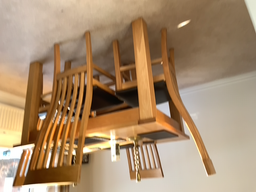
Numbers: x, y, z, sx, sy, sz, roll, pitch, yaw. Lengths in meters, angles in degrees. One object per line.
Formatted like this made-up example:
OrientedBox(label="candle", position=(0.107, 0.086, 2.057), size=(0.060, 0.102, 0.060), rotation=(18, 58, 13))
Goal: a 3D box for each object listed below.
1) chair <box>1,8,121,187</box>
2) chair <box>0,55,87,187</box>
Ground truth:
OrientedBox(label="chair", position=(-0.420, 0.050, 1.510), size=(0.490, 1.040, 0.540), rotation=(-13, 158, 22))
OrientedBox(label="chair", position=(-0.750, 0.250, 1.990), size=(0.530, 1.050, 0.470), rotation=(-14, 158, 24))
